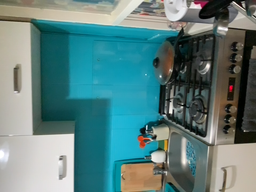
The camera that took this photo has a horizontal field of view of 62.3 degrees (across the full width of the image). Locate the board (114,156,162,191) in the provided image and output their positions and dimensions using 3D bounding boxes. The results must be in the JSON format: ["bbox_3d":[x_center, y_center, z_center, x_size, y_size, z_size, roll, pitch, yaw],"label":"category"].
[{"bbox_3d":[0.080,0.630,1.690,0.060,0.360,0.270,-143,55,-72],"label":"board"}]

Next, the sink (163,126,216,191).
[{"bbox_3d":[0.400,0.430,1.460,0.380,0.150,0.340,-148,60,-73],"label":"sink"}]
